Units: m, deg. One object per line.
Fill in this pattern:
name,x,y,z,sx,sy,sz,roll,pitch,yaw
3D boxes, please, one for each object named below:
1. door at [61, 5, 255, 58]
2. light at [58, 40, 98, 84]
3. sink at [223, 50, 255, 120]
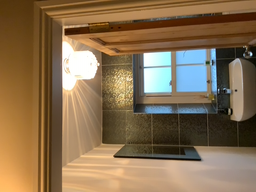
door,0.750,-0.360,1.260,0.930,1.980,0.090,-31,-61,-79
light,-0.430,-0.280,1.860,0.280,0.230,0.330,-2,-89,-73
sink,1.230,-0.100,2.280,0.460,0.250,0.680,7,-98,-80
